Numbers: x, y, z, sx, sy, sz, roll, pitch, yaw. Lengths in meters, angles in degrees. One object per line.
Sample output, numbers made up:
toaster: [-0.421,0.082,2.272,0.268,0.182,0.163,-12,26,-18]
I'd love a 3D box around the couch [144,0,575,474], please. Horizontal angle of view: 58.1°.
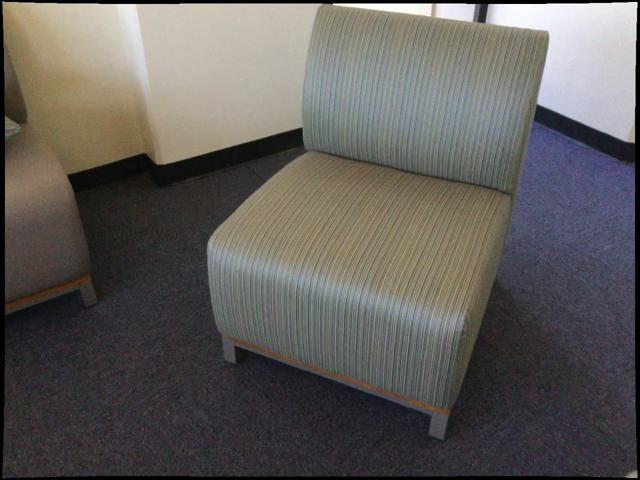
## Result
couch: [0.160,-0.110,1.580,0.758,0.902,0.840,14,36,18]
